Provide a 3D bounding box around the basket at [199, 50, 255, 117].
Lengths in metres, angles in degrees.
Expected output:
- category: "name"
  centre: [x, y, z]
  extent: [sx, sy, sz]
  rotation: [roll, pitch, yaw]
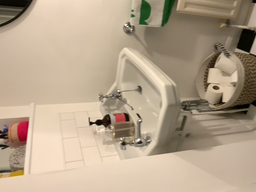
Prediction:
- category: "basket"
  centre: [0.690, -0.090, 1.390]
  extent: [0.250, 0.250, 0.360]
  rotation: [-128, 40, -57]
